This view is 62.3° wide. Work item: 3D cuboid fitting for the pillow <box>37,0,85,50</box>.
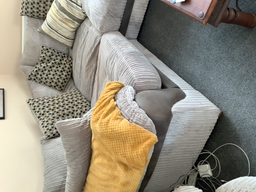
[{"bbox_3d":[-0.680,-0.760,2.080,0.550,0.300,0.330,-44,56,51],"label":"pillow"}]
